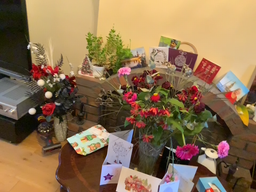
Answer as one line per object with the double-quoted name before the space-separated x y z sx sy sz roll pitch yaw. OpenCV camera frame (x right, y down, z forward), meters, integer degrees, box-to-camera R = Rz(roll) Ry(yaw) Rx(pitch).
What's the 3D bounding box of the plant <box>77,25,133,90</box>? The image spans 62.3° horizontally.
"plant" -0.190 -0.330 1.750 0.330 0.400 0.300 15 29 10
